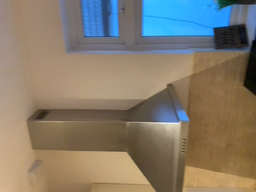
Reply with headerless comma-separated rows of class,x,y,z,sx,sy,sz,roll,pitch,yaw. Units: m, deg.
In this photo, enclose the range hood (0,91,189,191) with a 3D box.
range hood,-0.170,0.420,1.340,0.450,0.930,0.790,-80,-10,-69
